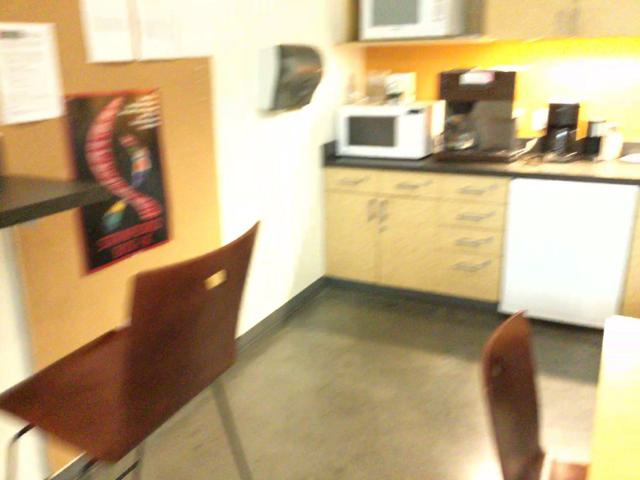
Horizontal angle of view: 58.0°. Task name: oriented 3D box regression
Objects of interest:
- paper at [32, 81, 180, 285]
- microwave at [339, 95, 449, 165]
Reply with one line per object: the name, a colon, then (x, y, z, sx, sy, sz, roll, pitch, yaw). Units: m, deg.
paper: (-0.730, -0.220, 2.070, 0.090, 0.620, 0.470, 9, 24, 26)
microwave: (0.440, -0.670, 3.470, 0.600, 0.340, 0.230, 9, 24, 26)
